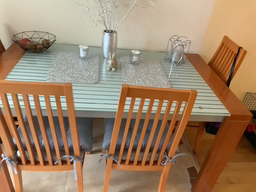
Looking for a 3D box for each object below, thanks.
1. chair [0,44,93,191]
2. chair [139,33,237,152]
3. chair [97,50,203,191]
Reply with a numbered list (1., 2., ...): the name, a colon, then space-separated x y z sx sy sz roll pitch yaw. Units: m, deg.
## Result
1. chair: -0.450 0.220 1.290 0.420 0.910 0.470 3 34 -8
2. chair: 0.420 0.000 1.800 0.470 0.900 0.420 2 34 -10
3. chair: 0.040 0.240 1.360 0.440 0.910 0.470 3 34 -8
